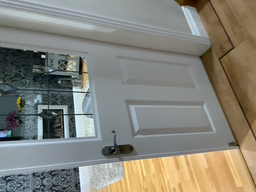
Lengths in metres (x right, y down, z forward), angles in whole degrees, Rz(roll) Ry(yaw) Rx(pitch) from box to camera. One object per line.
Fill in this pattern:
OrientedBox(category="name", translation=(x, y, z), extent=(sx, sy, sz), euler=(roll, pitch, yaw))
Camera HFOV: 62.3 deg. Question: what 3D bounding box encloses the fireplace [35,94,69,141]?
OrientedBox(category="fireplace", translation=(-1.660, 0.460, 4.590), extent=(0.380, 0.620, 0.920), euler=(-45, 49, 52))
